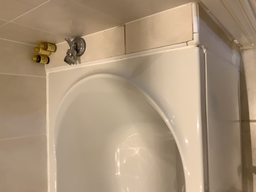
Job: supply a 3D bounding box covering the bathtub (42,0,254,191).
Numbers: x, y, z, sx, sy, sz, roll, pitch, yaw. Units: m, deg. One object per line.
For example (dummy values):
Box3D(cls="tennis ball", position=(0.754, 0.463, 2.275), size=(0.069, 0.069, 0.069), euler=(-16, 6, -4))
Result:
Box3D(cls="bathtub", position=(0.110, 0.660, 0.940), size=(0.730, 0.600, 1.780), euler=(-3, 88, 37))
